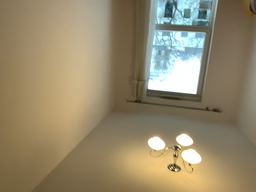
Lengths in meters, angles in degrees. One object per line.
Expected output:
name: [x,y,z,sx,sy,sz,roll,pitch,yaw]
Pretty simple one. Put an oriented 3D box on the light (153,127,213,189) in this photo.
light: [0.540,0.620,2.200,0.470,0.490,0.270,-28,97,13]
